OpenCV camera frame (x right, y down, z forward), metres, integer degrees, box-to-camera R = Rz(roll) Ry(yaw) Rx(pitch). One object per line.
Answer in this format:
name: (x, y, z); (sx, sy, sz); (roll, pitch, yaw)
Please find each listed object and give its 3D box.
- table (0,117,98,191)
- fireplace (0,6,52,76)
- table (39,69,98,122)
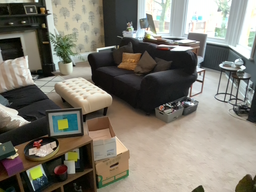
table: (-0.720, 0.590, 1.670); (0.860, 0.490, 0.380); (-18, 31, -34)
fireplace: (-2.610, -1.170, 4.500); (1.620, 1.310, 0.580); (-17, 30, -32)
table: (-0.930, -0.060, 3.210); (0.510, 0.350, 1.010); (-16, 30, -31)
